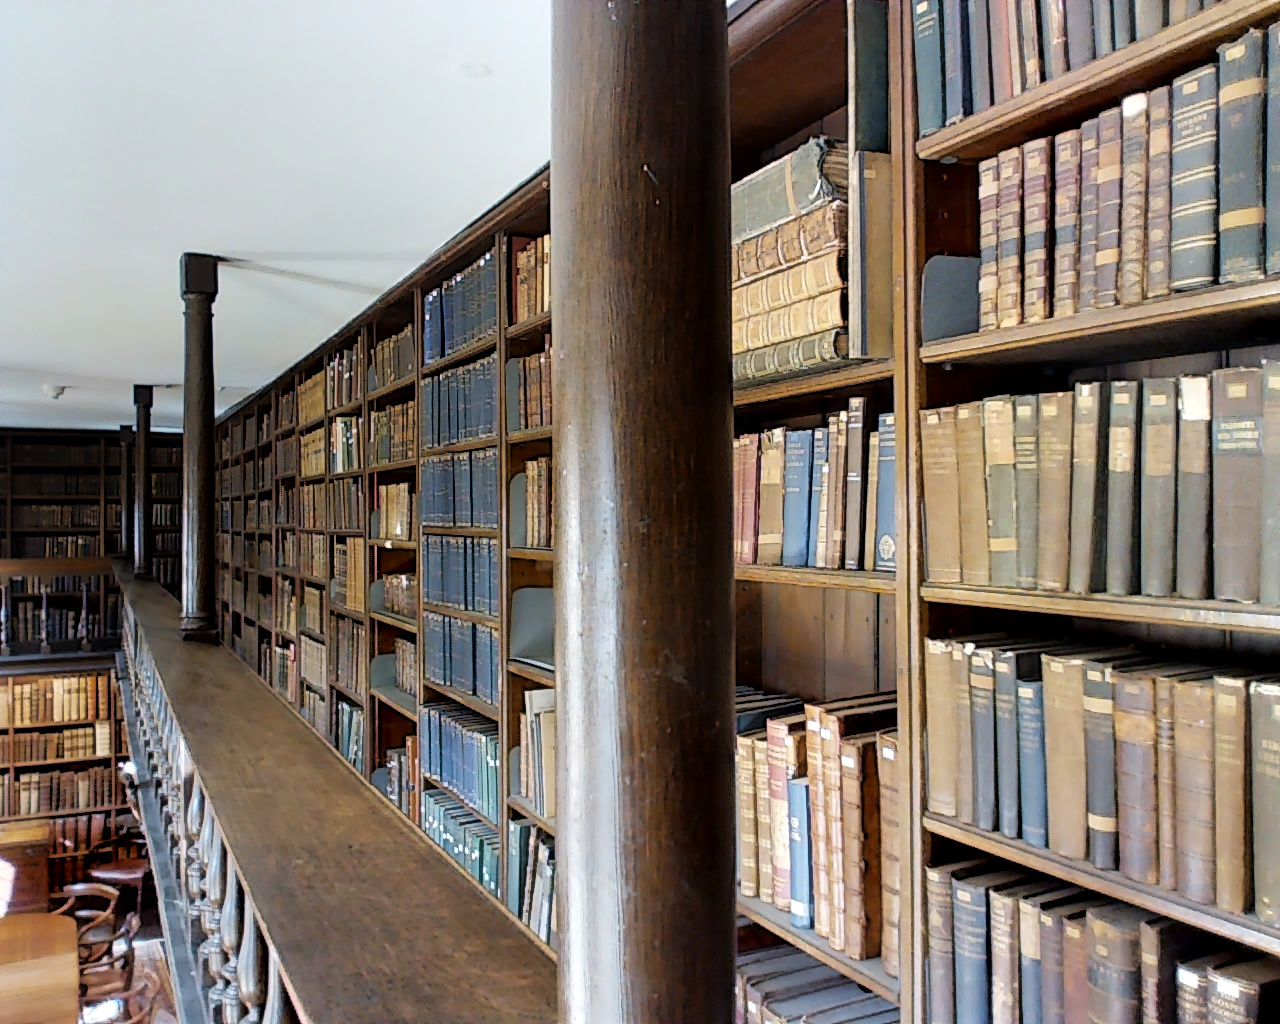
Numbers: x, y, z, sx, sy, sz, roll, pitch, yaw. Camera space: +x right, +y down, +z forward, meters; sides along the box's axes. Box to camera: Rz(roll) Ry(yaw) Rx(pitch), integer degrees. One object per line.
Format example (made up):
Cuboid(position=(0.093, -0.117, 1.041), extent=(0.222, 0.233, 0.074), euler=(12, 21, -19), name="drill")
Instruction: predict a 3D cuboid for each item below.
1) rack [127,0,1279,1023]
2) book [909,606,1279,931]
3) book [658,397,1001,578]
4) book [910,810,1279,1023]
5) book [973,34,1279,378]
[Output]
Cuboid(position=(-1.859, 0.250, 5.230), extent=(0.840, 2.071, 12.349), euler=(0, -1, -27), name="rack")
Cuboid(position=(0.630, 0.260, 1.140), extent=(0.200, 0.260, 0.770), euler=(0, -1, -28), name="book")
Cuboid(position=(0.280, -0.030, 1.870), extent=(0.160, 0.250, 0.780), euler=(0, -1, -26), name="book")
Cuboid(position=(0.640, 0.560, 1.130), extent=(0.210, 0.280, 0.790), euler=(0, -1, -28), name="book")
Cuboid(position=(0.700, -0.310, 1.090), extent=(0.310, 0.250, 0.660), euler=(0, -1, -28), name="book")
